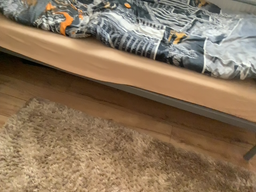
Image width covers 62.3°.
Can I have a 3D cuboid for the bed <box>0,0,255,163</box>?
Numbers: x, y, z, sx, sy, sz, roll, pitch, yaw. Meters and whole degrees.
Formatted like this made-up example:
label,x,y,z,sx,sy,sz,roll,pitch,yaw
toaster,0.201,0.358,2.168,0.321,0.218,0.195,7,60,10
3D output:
label,x,y,z,sx,sy,sz,roll,pitch,yaw
bed,-0.080,-0.420,1.600,2.170,0.530,0.990,17,50,9
